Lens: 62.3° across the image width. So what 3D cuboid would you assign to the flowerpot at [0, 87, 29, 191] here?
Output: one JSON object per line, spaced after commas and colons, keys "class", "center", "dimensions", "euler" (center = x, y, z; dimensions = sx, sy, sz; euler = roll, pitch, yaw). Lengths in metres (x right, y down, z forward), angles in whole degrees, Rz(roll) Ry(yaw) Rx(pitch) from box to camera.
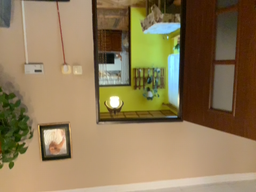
{"class": "flowerpot", "center": [-1.110, 0.360, 1.680], "dimensions": [0.470, 0.820, 0.380], "euler": [-2, -172, -11]}
